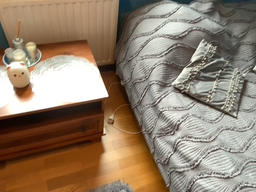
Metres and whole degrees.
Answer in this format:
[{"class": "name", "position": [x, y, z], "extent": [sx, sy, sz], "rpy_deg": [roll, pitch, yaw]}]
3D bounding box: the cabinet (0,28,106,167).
[{"class": "cabinet", "position": [-0.630, -0.010, 1.360], "extent": [0.820, 0.500, 0.640], "rpy_deg": [-10, 51, -17]}]
